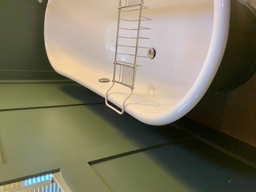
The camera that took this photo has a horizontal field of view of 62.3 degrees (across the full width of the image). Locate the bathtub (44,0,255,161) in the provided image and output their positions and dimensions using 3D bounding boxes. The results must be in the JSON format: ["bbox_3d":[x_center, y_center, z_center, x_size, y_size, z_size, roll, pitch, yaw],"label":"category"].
[{"bbox_3d":[0.020,-0.380,1.380,1.690,0.640,0.700,24,112,51],"label":"bathtub"}]
